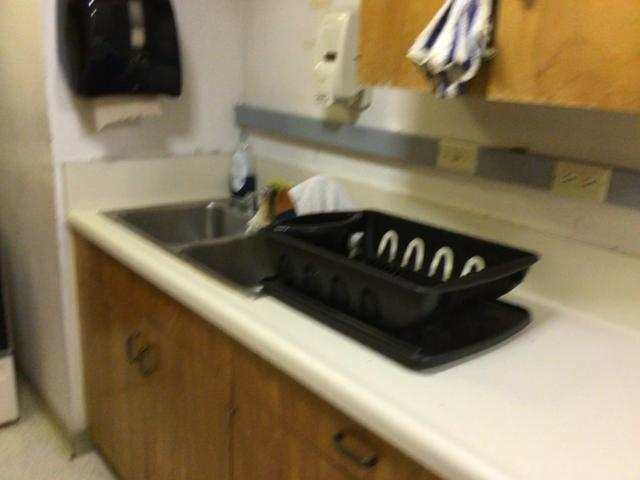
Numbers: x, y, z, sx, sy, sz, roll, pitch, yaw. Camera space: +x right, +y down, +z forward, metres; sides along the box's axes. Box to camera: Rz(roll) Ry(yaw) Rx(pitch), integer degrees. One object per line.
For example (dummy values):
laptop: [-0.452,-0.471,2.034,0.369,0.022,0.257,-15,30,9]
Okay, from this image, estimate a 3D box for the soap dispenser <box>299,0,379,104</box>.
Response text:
soap dispenser: [0.050,-0.530,1.610,0.130,0.280,0.170,-13,23,-40]

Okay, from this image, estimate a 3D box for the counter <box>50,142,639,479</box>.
counter: [0.000,0.020,1.390,0.680,0.260,1.690,-13,23,-40]

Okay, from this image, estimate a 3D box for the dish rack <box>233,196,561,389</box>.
dish rack: [0.140,0.060,1.220,0.410,0.160,0.540,-13,23,-40]
